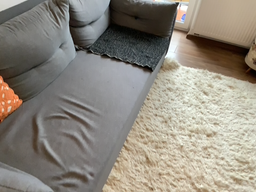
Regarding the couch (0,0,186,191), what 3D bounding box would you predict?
[{"bbox_3d":[-0.350,-0.180,1.510,1.010,0.800,2.240,19,43,12],"label":"couch"}]
